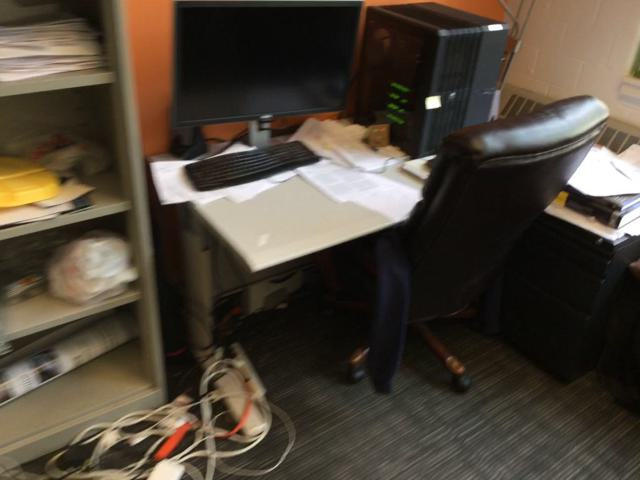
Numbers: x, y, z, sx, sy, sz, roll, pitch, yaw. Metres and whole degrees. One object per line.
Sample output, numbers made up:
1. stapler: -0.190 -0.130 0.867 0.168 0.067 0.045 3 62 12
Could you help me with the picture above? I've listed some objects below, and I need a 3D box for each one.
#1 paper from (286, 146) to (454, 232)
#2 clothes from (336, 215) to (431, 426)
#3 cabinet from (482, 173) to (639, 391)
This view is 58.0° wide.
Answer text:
1. paper: 0.150 -0.180 1.860 0.350 0.050 0.420 -17 36 -30
2. clothes: 0.180 0.260 1.790 0.140 0.640 0.190 -17 36 -30
3. cabinet: 0.850 0.140 2.020 0.230 0.610 0.390 -17 36 -30
